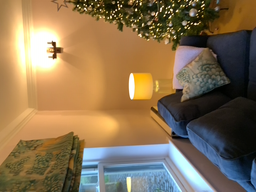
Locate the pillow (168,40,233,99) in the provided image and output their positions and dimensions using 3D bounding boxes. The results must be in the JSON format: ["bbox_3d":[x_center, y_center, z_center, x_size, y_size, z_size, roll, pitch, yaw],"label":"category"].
[{"bbox_3d":[0.620,-0.240,1.860,0.400,0.350,0.100,50,171,22],"label":"pillow"}]

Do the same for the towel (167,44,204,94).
[{"bbox_3d":[0.580,-0.290,2.200,0.410,0.170,0.470,-130,41,-74],"label":"towel"}]

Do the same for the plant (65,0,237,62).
[{"bbox_3d":[0.190,-0.970,2.490,0.930,1.690,0.980,-123,34,-71],"label":"plant"}]
